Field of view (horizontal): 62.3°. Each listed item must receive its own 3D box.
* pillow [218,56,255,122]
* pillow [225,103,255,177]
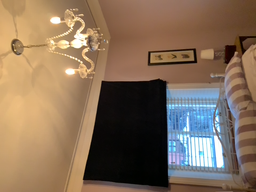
[{"bbox_3d":[1.210,-0.070,2.370,0.470,0.240,0.570,70,-157,-58],"label":"pillow"},{"bbox_3d":[1.150,0.420,2.030,0.360,0.270,0.610,70,-156,-59],"label":"pillow"}]
